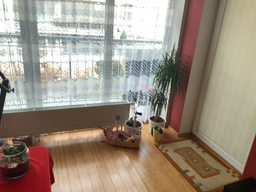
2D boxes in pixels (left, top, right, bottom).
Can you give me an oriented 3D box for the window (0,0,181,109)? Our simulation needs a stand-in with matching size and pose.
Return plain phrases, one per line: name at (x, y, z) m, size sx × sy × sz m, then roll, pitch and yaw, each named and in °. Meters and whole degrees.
window at (-1.050, -0.880, 2.060) m, size 3.520 × 2.050 × 0.250 m, roll -4°, pitch 22°, yaw -22°
